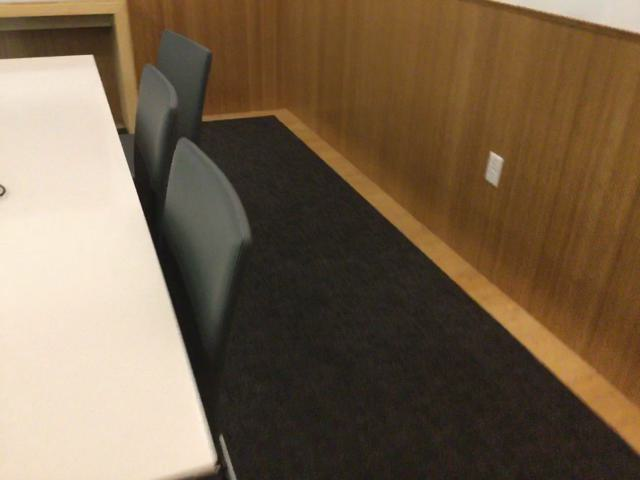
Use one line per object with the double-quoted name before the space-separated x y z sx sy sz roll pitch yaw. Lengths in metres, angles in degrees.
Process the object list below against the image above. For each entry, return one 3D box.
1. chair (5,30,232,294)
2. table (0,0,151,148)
"chair" -0.730 -0.330 2.170 0.620 0.760 0.560 -13 34 -29
"table" -1.860 -1.010 3.180 1.670 0.880 0.490 -9 32 -22
